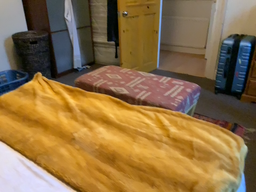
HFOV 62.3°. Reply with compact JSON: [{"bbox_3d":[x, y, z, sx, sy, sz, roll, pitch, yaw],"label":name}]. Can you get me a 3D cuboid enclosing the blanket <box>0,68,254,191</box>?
[{"bbox_3d":[-0.270,0.110,1.100,1.560,0.040,0.650,17,32,30],"label":"blanket"}]
